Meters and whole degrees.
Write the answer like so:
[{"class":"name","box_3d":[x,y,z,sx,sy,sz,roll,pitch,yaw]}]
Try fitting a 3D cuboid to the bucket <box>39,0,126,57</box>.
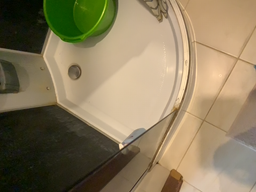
[{"class":"bucket","box_3d":[-0.220,-0.470,1.090,0.330,0.140,0.420,30,104,17]}]
